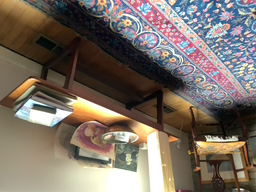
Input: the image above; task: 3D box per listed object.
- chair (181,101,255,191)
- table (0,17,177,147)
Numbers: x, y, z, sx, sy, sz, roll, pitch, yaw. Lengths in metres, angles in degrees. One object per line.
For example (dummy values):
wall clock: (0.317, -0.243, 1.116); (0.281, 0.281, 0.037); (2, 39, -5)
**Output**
chair: (0.940, 0.600, 2.310); (0.550, 0.900, 0.570); (-3, 152, 7)
table: (-0.190, 0.030, 1.750); (0.470, 0.440, 1.370); (-24, 144, 37)
